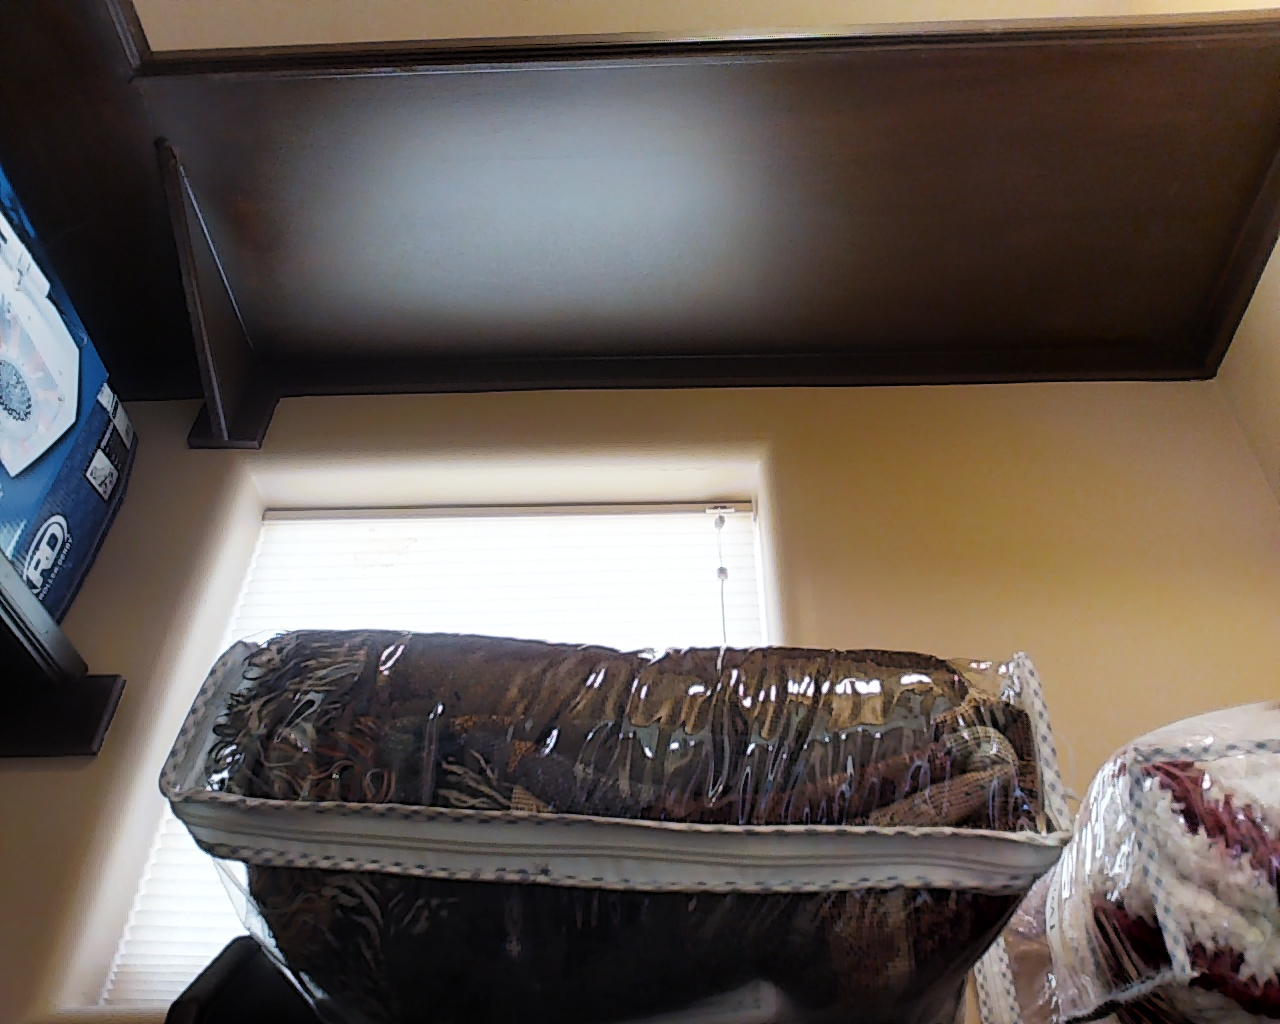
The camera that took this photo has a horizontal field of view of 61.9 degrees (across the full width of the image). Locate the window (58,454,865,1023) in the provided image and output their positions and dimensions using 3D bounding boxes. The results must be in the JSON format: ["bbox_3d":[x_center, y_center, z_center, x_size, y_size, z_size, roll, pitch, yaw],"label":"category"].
[{"bbox_3d":[-0.140,0.200,1.060,0.650,0.660,0.040,-1,-41,4],"label":"window"}]
